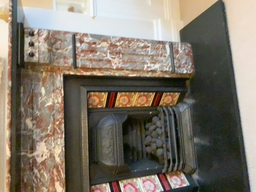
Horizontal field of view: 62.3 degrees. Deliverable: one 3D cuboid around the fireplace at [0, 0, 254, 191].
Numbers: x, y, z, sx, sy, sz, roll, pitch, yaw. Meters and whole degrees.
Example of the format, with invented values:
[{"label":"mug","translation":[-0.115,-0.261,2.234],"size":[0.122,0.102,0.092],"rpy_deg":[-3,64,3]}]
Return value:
[{"label":"fireplace","translation":[-0.030,0.310,1.330],"size":[0.700,1.270,1.820],"rpy_deg":[153,113,-66]}]
